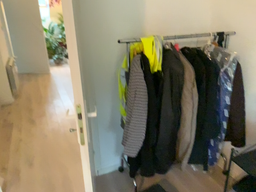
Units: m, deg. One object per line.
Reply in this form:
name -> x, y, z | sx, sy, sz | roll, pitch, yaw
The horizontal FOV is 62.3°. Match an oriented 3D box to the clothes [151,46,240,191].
clothes -> 0.460, 0.290, 1.790 | 0.320, 1.280, 0.660 | -4, 23, -9

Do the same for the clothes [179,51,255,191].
clothes -> 0.780, 0.220, 2.000 | 0.330, 1.170, 0.560 | -2, 23, -5
